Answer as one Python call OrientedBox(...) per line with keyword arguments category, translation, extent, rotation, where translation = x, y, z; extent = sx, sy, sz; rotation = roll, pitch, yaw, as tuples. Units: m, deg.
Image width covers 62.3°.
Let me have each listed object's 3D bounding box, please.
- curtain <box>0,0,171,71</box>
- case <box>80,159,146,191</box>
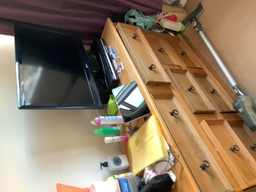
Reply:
OrientedBox(category="curtain", translation=(-0.630, -0.700, 1.480), extent=(0.880, 1.860, 0.300), rotation=(-59, 41, 38))
OrientedBox(category="case", translation=(-0.070, 0.510, 1.070), extent=(0.220, 0.240, 0.270), rotation=(-59, 42, 40))
